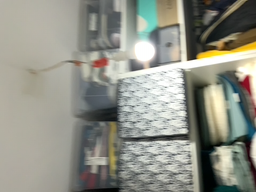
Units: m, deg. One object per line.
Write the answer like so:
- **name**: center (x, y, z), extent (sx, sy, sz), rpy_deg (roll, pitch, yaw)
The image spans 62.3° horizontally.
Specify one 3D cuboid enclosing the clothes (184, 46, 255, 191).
- **clothes**: center (0.470, 0.340, 0.950), extent (0.280, 0.300, 1.050), rpy_deg (35, -128, -61)
